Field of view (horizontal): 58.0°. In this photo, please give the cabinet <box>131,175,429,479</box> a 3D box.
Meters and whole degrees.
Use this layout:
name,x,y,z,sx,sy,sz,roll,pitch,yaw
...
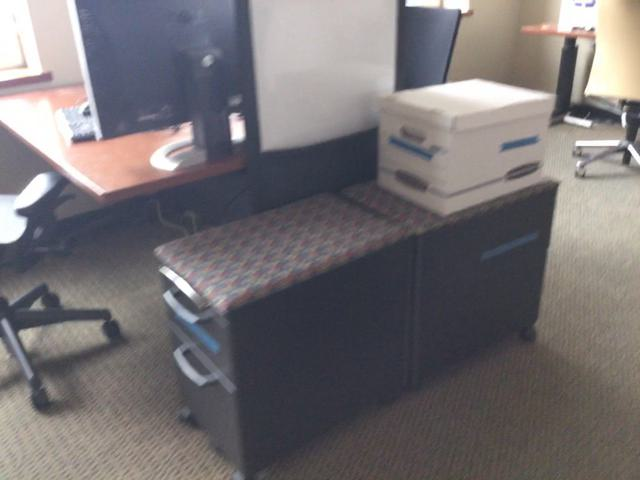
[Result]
name,x,y,z,sx,sy,sz,roll,pitch,yaw
cabinet,-0.080,0.240,1.660,0.640,0.610,0.420,-25,31,-30

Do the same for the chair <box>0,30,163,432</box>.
name,x,y,z,sx,sy,sz,roll,pitch,yaw
chair,-1.080,-0.040,1.830,0.690,1.020,0.700,-2,27,12

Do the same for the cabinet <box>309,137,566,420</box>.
name,x,y,z,sx,sy,sz,roll,pitch,yaw
cabinet,0.400,0.080,1.920,0.650,0.620,0.460,-25,31,-30

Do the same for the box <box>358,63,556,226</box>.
name,x,y,z,sx,sy,sz,roll,pitch,yaw
box,0.410,-0.310,1.730,0.430,0.320,0.360,-25,31,-30
